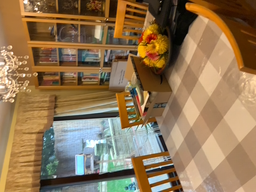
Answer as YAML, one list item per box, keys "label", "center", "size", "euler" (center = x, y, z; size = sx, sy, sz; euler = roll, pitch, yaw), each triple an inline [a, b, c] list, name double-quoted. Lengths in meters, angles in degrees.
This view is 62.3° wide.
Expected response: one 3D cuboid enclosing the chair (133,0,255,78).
- label: "chair"
  center: [0.610, -0.520, 1.480]
  size: [0.450, 0.980, 0.640]
  euler: [-110, 23, -48]
